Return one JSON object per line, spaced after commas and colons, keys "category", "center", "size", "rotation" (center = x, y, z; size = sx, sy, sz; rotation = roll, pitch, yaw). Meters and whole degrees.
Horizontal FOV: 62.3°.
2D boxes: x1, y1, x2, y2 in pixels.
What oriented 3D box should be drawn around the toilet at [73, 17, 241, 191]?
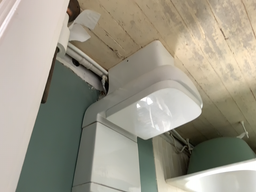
{"category": "toilet", "center": [0.110, 0.110, 1.140], "size": [0.590, 0.790, 0.410], "rotation": [-25, 137, 28]}
